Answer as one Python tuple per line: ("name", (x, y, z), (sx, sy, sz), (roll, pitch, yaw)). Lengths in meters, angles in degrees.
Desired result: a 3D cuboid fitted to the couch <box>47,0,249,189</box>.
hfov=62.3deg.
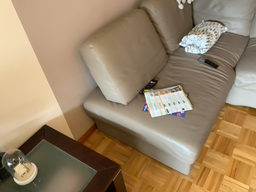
("couch", (0.180, -0.100, 1.590), (0.940, 0.850, 0.850), (21, 49, 28))
